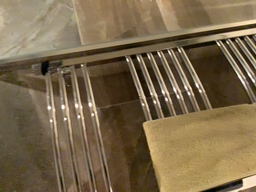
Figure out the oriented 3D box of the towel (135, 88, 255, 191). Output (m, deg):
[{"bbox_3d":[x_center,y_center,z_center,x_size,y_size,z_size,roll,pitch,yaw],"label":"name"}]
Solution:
[{"bbox_3d":[0.310,0.160,0.720,0.140,0.500,0.280,102,155,-66],"label":"towel"}]
